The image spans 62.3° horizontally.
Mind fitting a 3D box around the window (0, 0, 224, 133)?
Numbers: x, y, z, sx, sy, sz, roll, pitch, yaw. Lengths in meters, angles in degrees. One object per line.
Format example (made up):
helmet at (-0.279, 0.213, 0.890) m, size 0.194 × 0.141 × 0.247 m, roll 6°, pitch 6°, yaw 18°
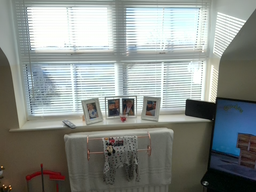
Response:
window at (-0.100, -0.370, 1.880) m, size 1.880 × 1.320 × 0.110 m, roll -2°, pitch 13°, yaw -6°
